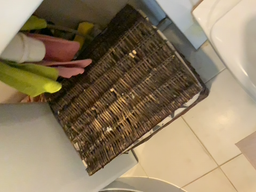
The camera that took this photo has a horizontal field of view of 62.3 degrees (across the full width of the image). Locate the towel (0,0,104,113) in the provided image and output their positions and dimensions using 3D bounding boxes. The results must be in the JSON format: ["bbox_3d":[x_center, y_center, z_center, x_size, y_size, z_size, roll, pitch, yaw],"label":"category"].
[{"bbox_3d":[-0.280,-0.110,0.570,0.210,0.330,0.230,-35,75,21],"label":"towel"}]
